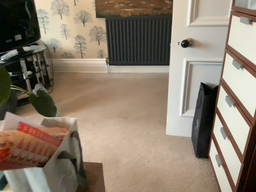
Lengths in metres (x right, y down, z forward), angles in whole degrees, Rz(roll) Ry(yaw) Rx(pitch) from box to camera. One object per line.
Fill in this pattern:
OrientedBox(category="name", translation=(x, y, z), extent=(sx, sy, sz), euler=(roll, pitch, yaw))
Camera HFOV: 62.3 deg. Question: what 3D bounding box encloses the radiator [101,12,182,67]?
OrientedBox(category="radiator", translation=(0.190, -0.800, 3.070), extent=(1.080, 0.750, 0.120), euler=(1, 27, 7))
